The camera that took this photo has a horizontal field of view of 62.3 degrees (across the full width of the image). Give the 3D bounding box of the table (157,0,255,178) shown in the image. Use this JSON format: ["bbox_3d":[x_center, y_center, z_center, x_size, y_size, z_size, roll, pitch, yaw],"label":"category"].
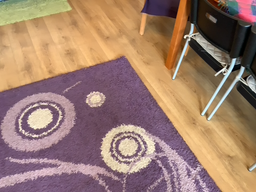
[{"bbox_3d":[0.900,-0.250,1.470,0.760,0.750,1.210,-20,55,-19],"label":"table"}]

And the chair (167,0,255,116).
[{"bbox_3d":[0.630,-0.300,1.490,0.420,0.760,0.410,-20,55,-18],"label":"chair"}]

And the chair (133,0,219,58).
[{"bbox_3d":[0.480,-0.900,2.000,0.580,0.710,0.590,30,55,19],"label":"chair"}]
